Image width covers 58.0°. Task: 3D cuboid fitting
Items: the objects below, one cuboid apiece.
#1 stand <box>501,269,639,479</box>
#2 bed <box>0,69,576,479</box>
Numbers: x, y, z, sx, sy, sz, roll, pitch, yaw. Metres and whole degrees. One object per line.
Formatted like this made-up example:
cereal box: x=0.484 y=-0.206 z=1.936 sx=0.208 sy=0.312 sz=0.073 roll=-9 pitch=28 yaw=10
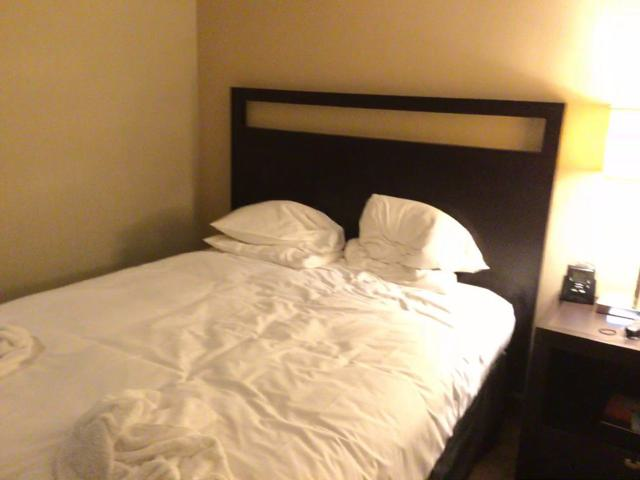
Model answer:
stand: x=1.150 y=0.580 z=2.060 sx=0.770 sy=0.710 sz=0.510 roll=13 pitch=17 yaw=30
bed: x=-0.320 y=0.240 z=1.910 sx=1.620 sy=1.460 sz=2.040 roll=13 pitch=17 yaw=30
